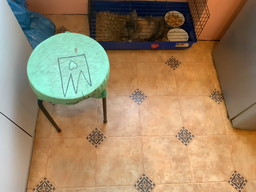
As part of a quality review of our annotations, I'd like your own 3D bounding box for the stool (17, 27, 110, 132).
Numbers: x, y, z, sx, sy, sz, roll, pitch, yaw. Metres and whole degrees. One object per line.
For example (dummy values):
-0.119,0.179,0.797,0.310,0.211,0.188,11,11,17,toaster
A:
-0.260,-0.050,1.040,0.330,0.440,0.330,-1,65,-6,stool
